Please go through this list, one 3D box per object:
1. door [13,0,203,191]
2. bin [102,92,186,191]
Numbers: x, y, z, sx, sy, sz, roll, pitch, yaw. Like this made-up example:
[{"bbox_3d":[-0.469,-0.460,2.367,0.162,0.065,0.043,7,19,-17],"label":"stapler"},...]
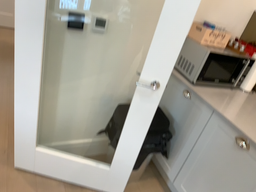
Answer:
[{"bbox_3d":[-0.200,-0.160,1.170,0.850,2.050,0.040,16,29,-3],"label":"door"},{"bbox_3d":[0.080,0.370,1.710,0.370,0.670,0.410,3,32,-24],"label":"bin"}]
